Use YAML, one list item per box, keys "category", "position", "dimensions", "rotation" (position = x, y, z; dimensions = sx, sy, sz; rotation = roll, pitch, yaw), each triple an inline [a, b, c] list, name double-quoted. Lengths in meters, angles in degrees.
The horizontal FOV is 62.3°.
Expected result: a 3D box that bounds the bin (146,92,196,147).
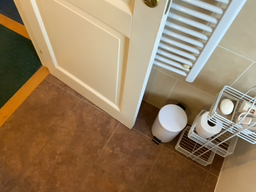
- category: "bin"
  position: [0.260, 0.150, 1.320]
  dimensions: [0.180, 0.230, 0.210]
  rotation: [30, 64, 10]
